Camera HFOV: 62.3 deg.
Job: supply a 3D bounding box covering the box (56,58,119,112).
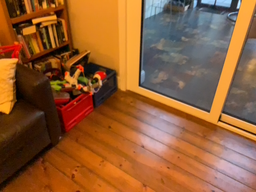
[{"bbox_3d":[-0.420,-0.140,2.310,0.480,0.280,0.440,21,41,26],"label":"box"}]
